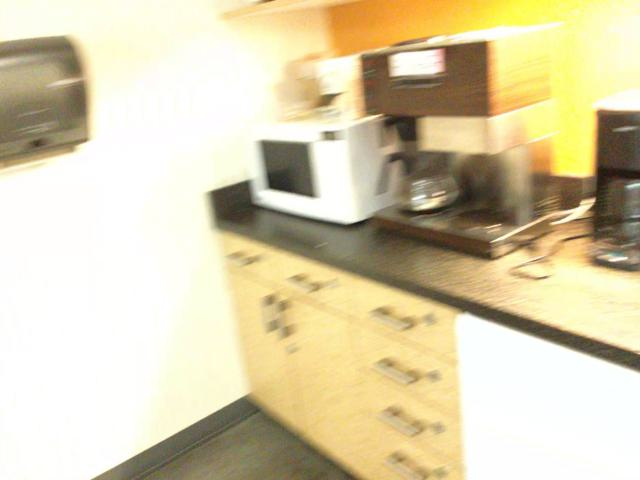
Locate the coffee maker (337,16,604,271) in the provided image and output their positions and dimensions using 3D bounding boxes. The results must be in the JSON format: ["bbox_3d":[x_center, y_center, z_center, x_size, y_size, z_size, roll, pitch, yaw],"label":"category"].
[{"bbox_3d":[0.390,-0.270,1.530,0.340,0.510,0.550,-25,26,-35],"label":"coffee maker"}]

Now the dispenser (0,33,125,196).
[{"bbox_3d":[-0.770,-0.350,1.590,0.290,0.360,0.230,-25,26,-35],"label":"dispenser"}]

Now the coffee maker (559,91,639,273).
[{"bbox_3d":[0.670,-0.130,1.240,0.180,0.340,0.230,-25,26,-35],"label":"coffee maker"}]

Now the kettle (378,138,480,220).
[{"bbox_3d":[0.310,-0.180,1.640,0.180,0.170,0.200,-25,26,-35],"label":"kettle"}]
